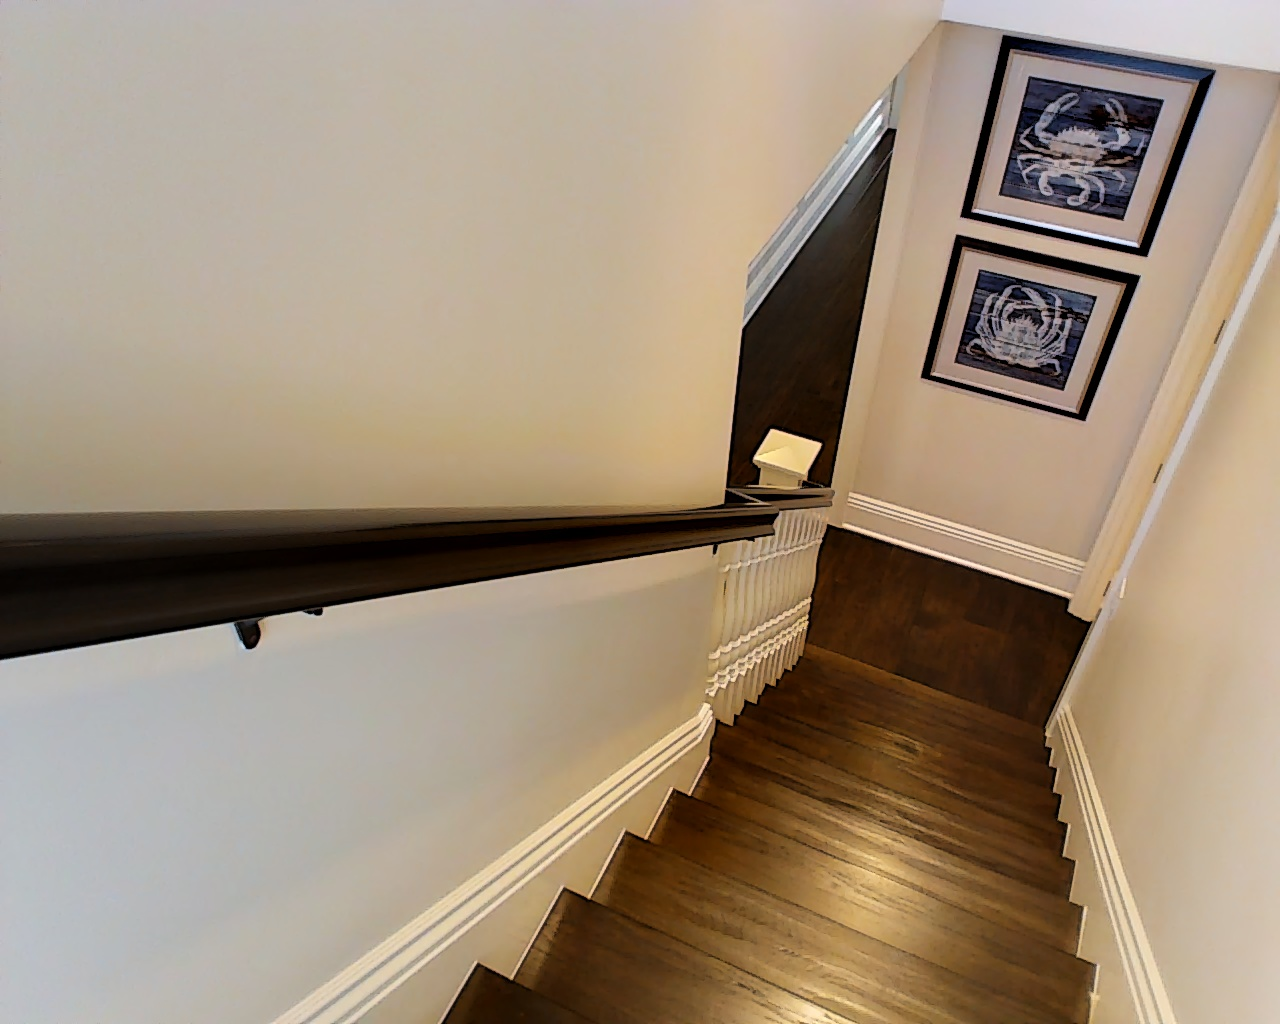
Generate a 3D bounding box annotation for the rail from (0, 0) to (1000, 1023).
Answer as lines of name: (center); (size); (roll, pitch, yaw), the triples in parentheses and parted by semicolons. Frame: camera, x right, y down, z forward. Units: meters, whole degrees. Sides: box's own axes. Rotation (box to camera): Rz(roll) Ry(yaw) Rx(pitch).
rail: (0.080, 0.310, 2.220); (0.270, 3.590, 3.290); (18, 46, 18)
